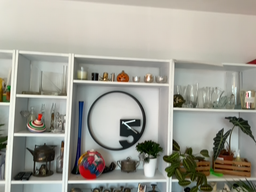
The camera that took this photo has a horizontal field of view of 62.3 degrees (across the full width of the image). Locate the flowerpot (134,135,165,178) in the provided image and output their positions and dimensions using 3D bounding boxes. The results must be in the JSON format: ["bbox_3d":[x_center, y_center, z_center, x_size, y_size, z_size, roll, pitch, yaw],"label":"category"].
[{"bbox_3d":[0.180,0.520,1.860,0.230,0.320,0.210,2,-2,-5],"label":"flowerpot"}]
